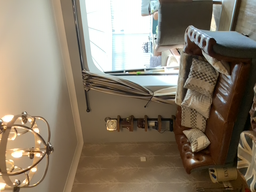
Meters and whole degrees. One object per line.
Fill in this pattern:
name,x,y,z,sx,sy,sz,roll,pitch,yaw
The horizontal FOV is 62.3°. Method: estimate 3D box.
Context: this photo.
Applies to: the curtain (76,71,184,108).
curtain,0.030,-0.100,3.250,0.260,1.550,0.480,-91,1,-60
